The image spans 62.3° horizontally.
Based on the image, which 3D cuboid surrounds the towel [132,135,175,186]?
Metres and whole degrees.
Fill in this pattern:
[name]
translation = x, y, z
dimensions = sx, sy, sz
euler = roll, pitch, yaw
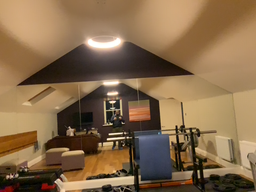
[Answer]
[towel]
translation = 0.470, 1.200, 4.010
dimensions = 0.710, 0.830, 0.230
euler = -3, -5, -3
